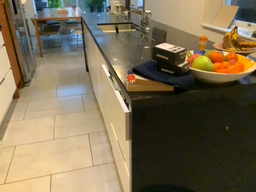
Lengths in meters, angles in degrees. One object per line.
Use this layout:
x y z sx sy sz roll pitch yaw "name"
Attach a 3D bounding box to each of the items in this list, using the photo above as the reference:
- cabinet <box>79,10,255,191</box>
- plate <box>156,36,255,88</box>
-0.070 -0.250 2.250 0.660 0.960 2.800 -6 28 -13 "cabinet"
0.340 -0.170 0.940 0.320 0.100 0.360 -6 28 -12 "plate"
